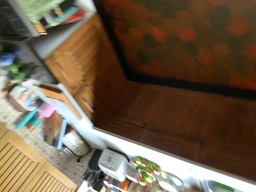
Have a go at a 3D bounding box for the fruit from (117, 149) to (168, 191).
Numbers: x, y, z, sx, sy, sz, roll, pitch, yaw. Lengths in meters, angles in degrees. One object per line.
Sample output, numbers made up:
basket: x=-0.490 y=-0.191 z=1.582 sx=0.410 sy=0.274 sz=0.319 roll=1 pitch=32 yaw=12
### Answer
fruit: x=0.150 y=0.730 z=2.030 sx=0.370 sy=0.170 sz=0.370 roll=12 pitch=145 yaw=33
